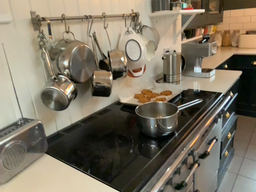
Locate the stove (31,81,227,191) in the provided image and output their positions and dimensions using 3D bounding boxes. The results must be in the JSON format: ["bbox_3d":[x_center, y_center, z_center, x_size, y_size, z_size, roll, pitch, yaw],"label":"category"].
[{"bbox_3d":[0.110,0.160,1.280,0.630,0.150,1.090,10,25,36],"label":"stove"}]
